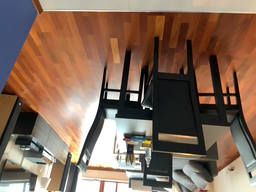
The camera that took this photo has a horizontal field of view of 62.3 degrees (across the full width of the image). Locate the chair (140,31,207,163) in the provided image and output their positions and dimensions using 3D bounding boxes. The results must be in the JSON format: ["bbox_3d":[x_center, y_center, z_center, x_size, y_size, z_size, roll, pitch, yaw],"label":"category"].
[{"bbox_3d":[0.330,-0.010,1.780,0.410,0.990,0.480,2,149,5],"label":"chair"}]

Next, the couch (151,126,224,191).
[{"bbox_3d":[1.010,1.510,4.370,0.950,0.820,2.430,2,149,4],"label":"couch"}]

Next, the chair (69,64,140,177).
[{"bbox_3d":[-0.170,0.220,2.180,0.540,1.060,0.400,3,149,4],"label":"chair"}]

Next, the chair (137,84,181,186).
[{"bbox_3d":[0.340,0.440,2.480,0.390,1.040,0.510,4,149,1],"label":"chair"}]

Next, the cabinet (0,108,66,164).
[{"bbox_3d":[-1.770,0.880,4.170,0.500,0.430,1.850,3,149,3],"label":"cabinet"}]
